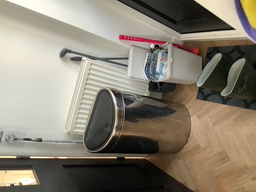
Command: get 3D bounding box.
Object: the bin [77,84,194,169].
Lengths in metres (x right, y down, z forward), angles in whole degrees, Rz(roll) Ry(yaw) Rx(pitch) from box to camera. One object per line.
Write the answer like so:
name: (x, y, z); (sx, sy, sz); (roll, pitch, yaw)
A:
bin: (0.070, 0.220, 1.460); (0.300, 0.670, 0.430); (19, 95, 54)
